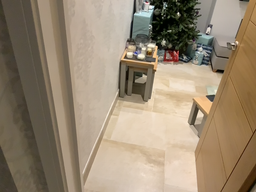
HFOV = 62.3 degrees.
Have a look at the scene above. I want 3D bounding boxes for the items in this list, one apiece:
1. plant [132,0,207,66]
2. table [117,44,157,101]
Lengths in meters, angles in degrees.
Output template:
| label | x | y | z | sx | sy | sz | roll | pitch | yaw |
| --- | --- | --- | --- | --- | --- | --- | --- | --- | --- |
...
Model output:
| label | x | y | z | sx | sy | sz | roll | pitch | yaw |
| --- | --- | --- | --- | --- | --- | --- | --- | --- | --- |
| plant | 0.640 | -1.410 | 3.170 | 0.920 | 1.650 | 0.720 | 10 | 36 | 7 |
| table | 0.110 | -0.290 | 2.560 | 0.390 | 0.490 | 0.440 | 8 | 35 | 4 |
